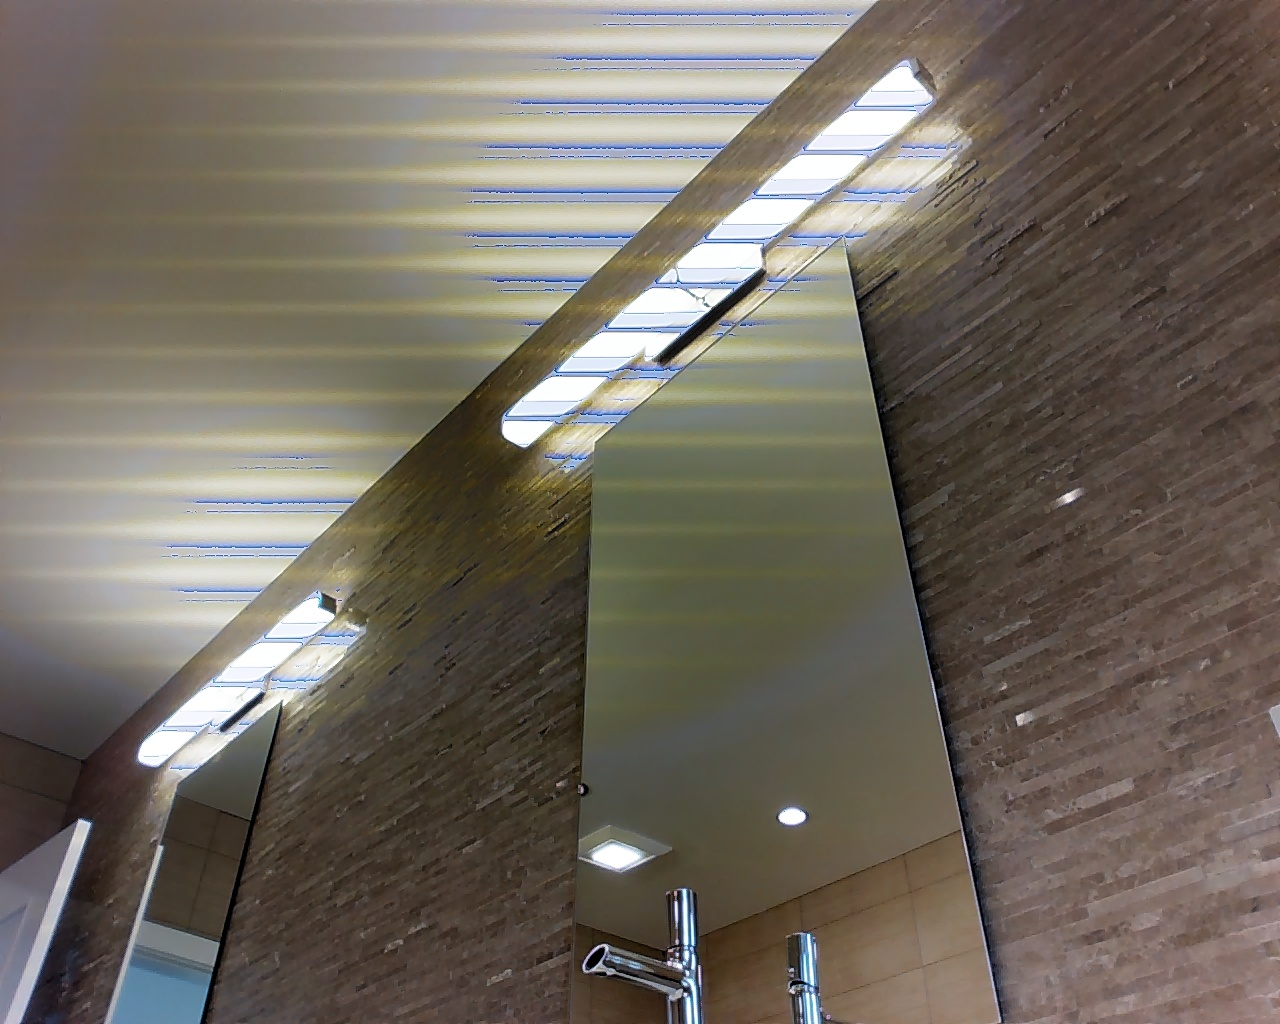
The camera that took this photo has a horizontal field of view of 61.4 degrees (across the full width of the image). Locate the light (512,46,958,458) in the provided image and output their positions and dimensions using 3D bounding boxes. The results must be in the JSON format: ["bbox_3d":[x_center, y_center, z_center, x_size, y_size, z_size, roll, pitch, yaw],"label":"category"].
[{"bbox_3d":[0.110,-0.400,1.880,0.080,0.070,1.000,31,-50,-29],"label":"light"}]
